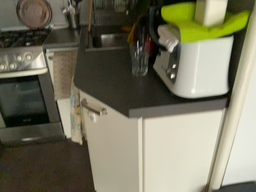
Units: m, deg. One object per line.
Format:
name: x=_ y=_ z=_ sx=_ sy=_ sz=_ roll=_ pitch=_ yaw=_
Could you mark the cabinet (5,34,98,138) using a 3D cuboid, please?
cabinet: x=-0.520 y=-0.110 z=1.430 sx=0.310 sy=0.460 sz=0.590 roll=-23 pitch=36 yaw=-33
